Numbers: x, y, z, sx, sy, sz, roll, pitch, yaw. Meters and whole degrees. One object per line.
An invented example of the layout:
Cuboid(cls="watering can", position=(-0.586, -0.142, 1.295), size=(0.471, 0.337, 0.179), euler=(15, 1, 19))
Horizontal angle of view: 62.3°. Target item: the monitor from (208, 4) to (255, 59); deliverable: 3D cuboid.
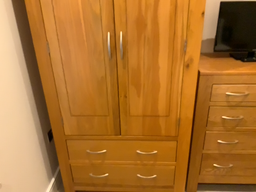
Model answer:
Cuboid(cls="monitor", position=(0.860, -0.440, 1.460), size=(0.540, 0.360, 0.050), euler=(0, 26, 3))
